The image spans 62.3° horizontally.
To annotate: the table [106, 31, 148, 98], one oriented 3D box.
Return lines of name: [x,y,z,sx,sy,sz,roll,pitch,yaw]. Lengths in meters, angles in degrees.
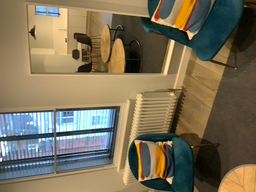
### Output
table: [-0.080,-0.680,4.370,1.180,0.370,0.950,-121,35,-53]
